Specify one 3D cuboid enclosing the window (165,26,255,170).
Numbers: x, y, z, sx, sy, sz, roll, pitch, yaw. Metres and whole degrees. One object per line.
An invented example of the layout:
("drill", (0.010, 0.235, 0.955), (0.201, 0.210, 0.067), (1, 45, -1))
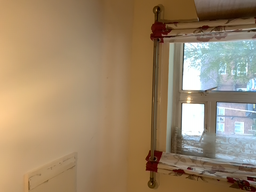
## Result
("window", (0.890, 0.010, 1.600), (0.090, 1.170, 1.040), (5, -93, -68))
